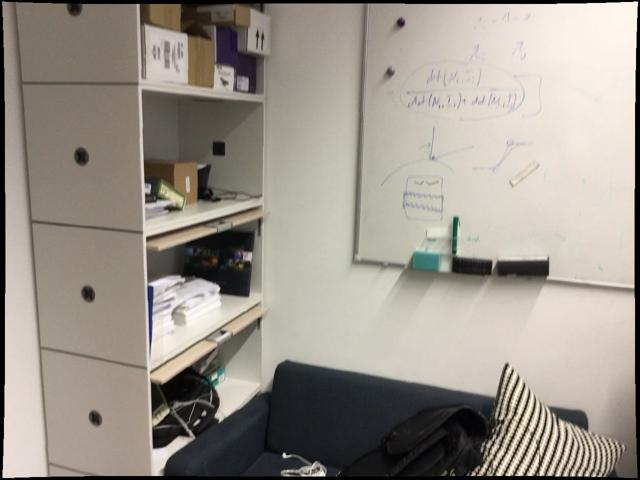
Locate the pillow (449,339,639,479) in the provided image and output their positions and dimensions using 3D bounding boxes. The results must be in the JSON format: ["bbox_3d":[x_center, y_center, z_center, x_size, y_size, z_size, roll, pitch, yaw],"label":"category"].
[{"bbox_3d":[0.689,0.671,1.790,0.510,0.490,0.520,6,14,19],"label":"pillow"}]

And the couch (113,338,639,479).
[{"bbox_3d":[0.240,0.901,1.940,1.569,0.651,0.810,6,14,19],"label":"couch"}]

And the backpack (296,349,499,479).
[{"bbox_3d":[0.270,0.691,1.890,0.540,0.410,0.530,6,14,19],"label":"backpack"}]

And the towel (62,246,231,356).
[{"bbox_3d":[-0.549,0.180,1.940,0.280,0.180,0.530,6,14,19],"label":"towel"}]
